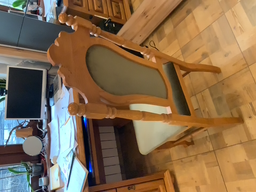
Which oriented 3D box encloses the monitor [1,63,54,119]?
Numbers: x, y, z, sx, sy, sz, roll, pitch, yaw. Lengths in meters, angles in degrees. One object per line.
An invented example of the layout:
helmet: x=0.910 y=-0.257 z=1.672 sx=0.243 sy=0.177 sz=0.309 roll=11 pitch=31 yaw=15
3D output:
monitor: x=-0.840 y=-0.030 z=1.800 sx=0.030 sy=0.350 sz=0.430 roll=-2 pitch=80 yaw=53
